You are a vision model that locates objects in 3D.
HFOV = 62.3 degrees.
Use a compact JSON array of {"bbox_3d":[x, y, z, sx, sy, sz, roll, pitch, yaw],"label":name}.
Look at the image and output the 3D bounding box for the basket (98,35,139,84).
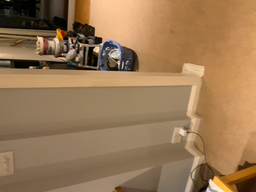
[{"bbox_3d":[-0.150,-0.490,2.750,0.650,0.210,0.500,34,121,55],"label":"basket"}]
